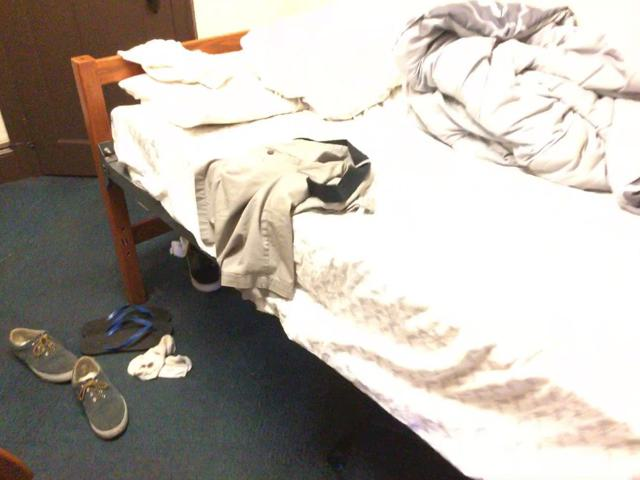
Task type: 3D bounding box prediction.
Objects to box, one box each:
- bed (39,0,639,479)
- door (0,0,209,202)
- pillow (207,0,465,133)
[{"bbox_3d":[0.360,0.030,1.430,1.060,1.080,2.260,-25,42,-33],"label":"bed"},{"bbox_3d":[-1.000,-1.300,2.150,0.880,2.450,0.310,3,34,3],"label":"door"},{"bbox_3d":[0.050,-0.580,1.780,0.600,0.210,0.480,-25,42,-33],"label":"pillow"}]
